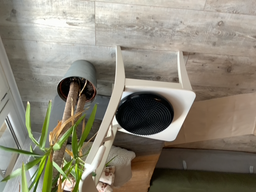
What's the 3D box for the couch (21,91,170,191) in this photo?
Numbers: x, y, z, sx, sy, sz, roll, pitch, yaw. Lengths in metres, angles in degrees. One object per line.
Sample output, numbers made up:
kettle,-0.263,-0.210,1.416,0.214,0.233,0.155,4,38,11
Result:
couch,-0.210,0.400,1.670,0.880,0.600,0.570,3,132,-4
